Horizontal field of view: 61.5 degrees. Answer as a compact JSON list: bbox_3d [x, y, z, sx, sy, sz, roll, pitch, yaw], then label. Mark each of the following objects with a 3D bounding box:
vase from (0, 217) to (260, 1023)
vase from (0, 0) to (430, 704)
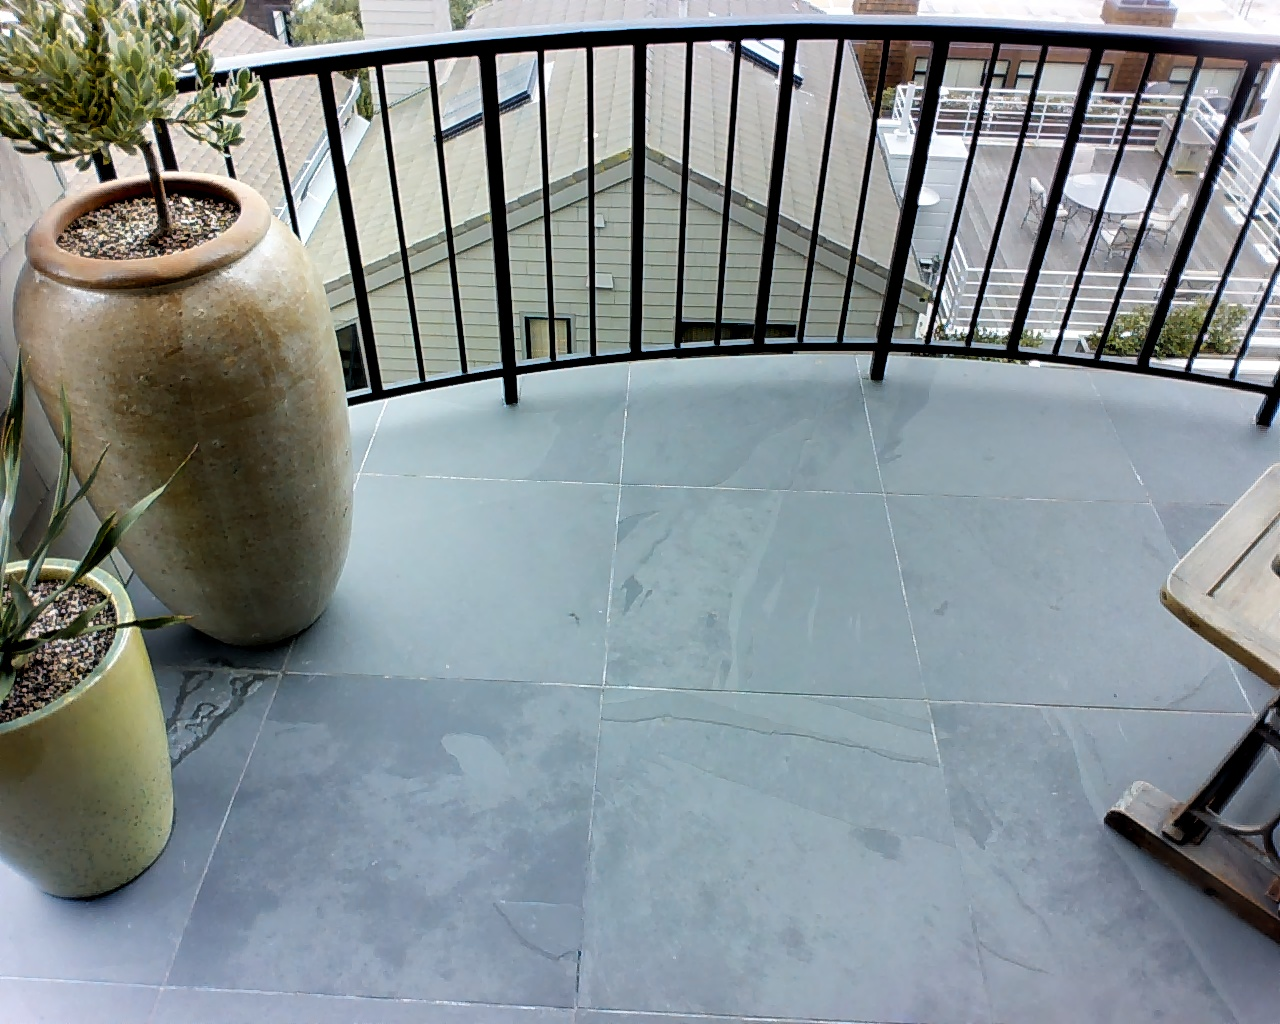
[{"bbox_3d":[-0.920,0.200,1.400,0.480,0.990,0.550,1,42,0],"label":"vase"},{"bbox_3d":[-0.780,-0.360,1.770,0.610,1.400,0.590,1,42,0],"label":"vase"}]
